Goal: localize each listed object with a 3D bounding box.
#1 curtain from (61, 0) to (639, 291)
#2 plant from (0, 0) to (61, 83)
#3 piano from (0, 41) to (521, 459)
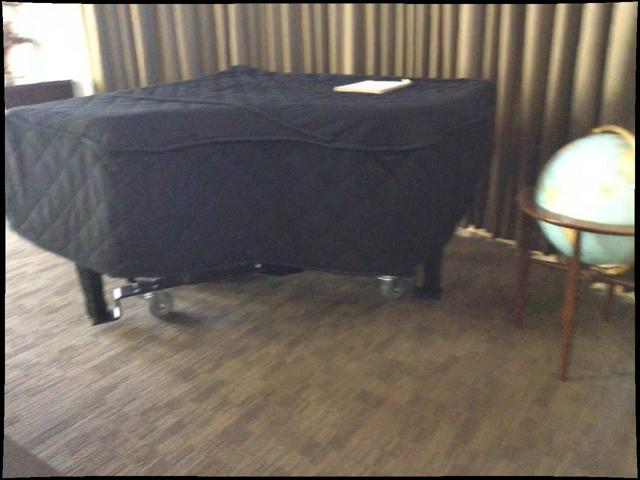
[{"bbox_3d":[0.120,-0.931,3.440,4.057,1.551,0.820,11,26,33],"label":"curtain"},{"bbox_3d":[-2.468,-1.622,4.470,0.620,0.721,0.460,11,26,33],"label":"plant"},{"bbox_3d":[-0.280,-0.250,2.660,1.839,1.111,1.540,11,26,33],"label":"piano"}]
